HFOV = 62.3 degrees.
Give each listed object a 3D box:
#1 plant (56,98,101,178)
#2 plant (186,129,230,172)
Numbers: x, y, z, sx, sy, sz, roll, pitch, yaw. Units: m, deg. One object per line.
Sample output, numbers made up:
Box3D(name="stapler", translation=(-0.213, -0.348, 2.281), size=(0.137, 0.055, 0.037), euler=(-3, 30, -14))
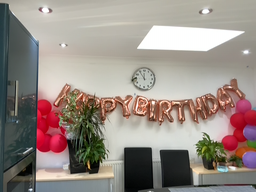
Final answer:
Box3D(name="plant", translation=(-0.620, 0.510, 2.770), size=(0.520, 0.950, 0.410), euler=(0, -3, -9))
Box3D(name="plant", translation=(1.070, 0.720, 2.900), size=(0.350, 0.470, 0.500), euler=(0, -3, -8))
